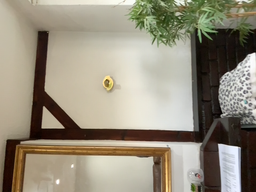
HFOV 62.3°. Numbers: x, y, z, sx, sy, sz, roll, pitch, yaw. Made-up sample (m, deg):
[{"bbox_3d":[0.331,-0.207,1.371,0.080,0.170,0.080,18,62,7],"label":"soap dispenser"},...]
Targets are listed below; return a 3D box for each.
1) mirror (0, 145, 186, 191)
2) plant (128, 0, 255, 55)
[{"bbox_3d":[-0.240,1.010,1.370,0.070,1.220,1.330,86,-175,-83],"label":"mirror"},{"bbox_3d":[0.830,-0.630,1.220,0.530,1.650,0.650,-88,-1,-63],"label":"plant"}]
